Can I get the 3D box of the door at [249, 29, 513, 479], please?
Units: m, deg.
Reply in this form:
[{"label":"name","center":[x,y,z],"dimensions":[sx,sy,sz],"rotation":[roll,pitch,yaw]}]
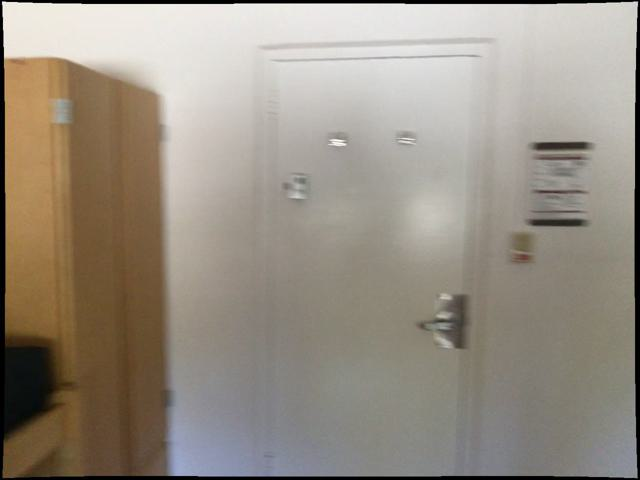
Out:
[{"label":"door","center":[0.210,0.200,2.330],"dimensions":[0.969,1.982,0.150],"rotation":[1,7,6]}]
